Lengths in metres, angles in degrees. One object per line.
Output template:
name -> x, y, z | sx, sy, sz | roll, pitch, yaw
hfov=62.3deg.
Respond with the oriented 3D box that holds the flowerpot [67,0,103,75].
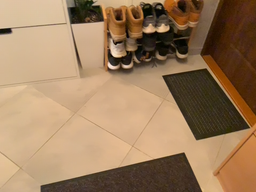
flowerpot -> -0.290, -0.540, 1.420 | 0.180, 0.830, 0.260 | -8, 50, -10
